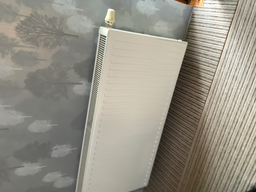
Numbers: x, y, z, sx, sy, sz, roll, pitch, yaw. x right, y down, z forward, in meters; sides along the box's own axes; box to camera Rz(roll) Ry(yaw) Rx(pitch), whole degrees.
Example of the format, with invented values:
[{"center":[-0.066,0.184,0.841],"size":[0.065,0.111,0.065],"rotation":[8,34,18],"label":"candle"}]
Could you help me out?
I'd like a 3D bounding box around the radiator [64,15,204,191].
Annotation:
[{"center":[0.010,0.200,1.530],"size":[0.180,0.770,1.340],"rotation":[39,123,48],"label":"radiator"}]
